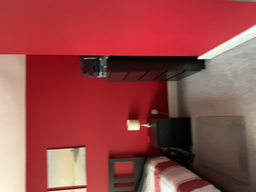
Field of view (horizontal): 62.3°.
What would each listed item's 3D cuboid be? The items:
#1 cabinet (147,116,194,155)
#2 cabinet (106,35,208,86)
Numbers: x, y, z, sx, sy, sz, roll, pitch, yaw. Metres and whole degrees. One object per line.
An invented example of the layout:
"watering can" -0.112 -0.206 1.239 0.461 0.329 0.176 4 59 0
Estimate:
"cabinet" 0.620 0.570 3.240 0.550 0.540 0.500 164 105 -81
"cabinet" 0.330 -0.440 2.990 0.810 1.230 0.510 152 117 -80
